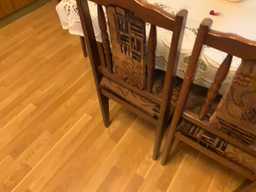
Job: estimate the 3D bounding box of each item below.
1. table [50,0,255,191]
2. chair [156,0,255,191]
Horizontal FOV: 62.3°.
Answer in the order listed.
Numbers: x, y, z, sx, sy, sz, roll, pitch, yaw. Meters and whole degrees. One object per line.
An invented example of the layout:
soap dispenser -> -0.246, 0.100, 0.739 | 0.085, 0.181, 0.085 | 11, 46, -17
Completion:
table -> 0.460, -0.220, 1.230 | 1.430, 0.740, 0.870 | 29, 56, 21
chair -> 0.480, 0.010, 0.940 | 0.430, 0.910, 0.470 | 29, 57, 21
